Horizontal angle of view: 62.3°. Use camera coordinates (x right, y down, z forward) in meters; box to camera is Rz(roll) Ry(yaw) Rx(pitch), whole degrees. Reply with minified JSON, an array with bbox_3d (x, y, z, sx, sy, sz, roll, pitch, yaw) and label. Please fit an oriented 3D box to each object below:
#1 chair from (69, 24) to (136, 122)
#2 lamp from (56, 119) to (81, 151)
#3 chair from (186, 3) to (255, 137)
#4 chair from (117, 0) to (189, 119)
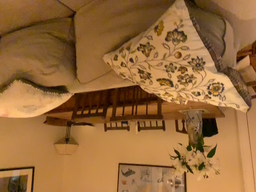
[{"bbox_3d":[-0.230,-0.180,2.180,0.420,0.830,0.530,-7,165,29],"label":"chair"},{"bbox_3d":[-1.050,0.690,3.750,0.260,0.530,0.280,-7,165,30],"label":"lamp"},{"bbox_3d":[1.010,-0.170,1.830,0.810,0.990,0.540,-7,165,30],"label":"chair"},{"bbox_3d":[0.230,-0.250,1.850,0.420,0.830,0.530,-7,165,29],"label":"chair"}]
